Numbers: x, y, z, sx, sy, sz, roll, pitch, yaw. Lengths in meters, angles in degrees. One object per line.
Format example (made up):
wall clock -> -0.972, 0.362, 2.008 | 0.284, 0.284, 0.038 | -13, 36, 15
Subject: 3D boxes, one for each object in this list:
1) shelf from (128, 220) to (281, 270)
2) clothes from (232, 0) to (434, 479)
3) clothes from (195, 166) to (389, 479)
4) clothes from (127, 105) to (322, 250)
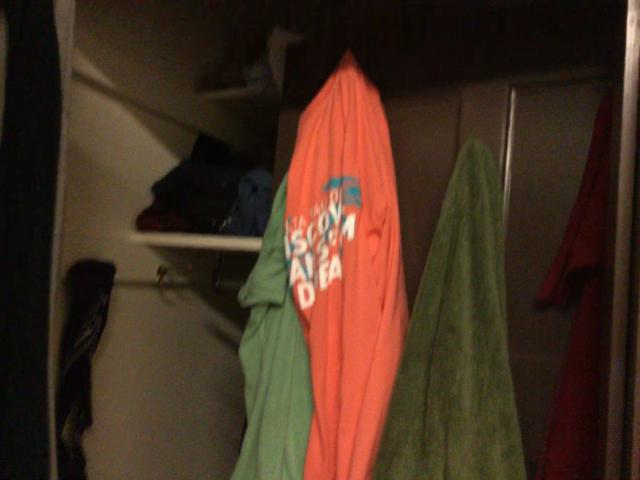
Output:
shelf -> -0.230, 0.010, 1.150 | 0.290, 0.080, 0.080 | 3, -4, 17
clothes -> 0.030, 0.050, 0.860 | 0.220, 0.740, 0.180 | 3, -4, 17
clothes -> -0.040, 0.200, 0.850 | 0.230, 0.600, 0.120 | 3, -4, 17
clothes -> -0.190, -0.120, 1.290 | 0.280, 0.250, 0.360 | 3, -4, 17
